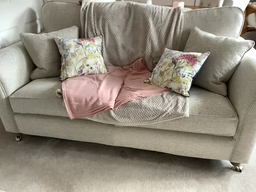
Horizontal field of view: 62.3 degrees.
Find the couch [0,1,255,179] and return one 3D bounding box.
[{"bbox_3d":[0.010,-0.190,1.770,2.070,0.960,1.040,5,31,9],"label":"couch"}]
